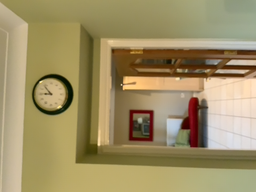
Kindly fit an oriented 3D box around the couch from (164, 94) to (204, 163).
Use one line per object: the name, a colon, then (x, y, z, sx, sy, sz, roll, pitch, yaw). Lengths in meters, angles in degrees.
couch: (1.450, 0.820, 5.640, 0.750, 0.860, 1.690, 60, -148, -87)
